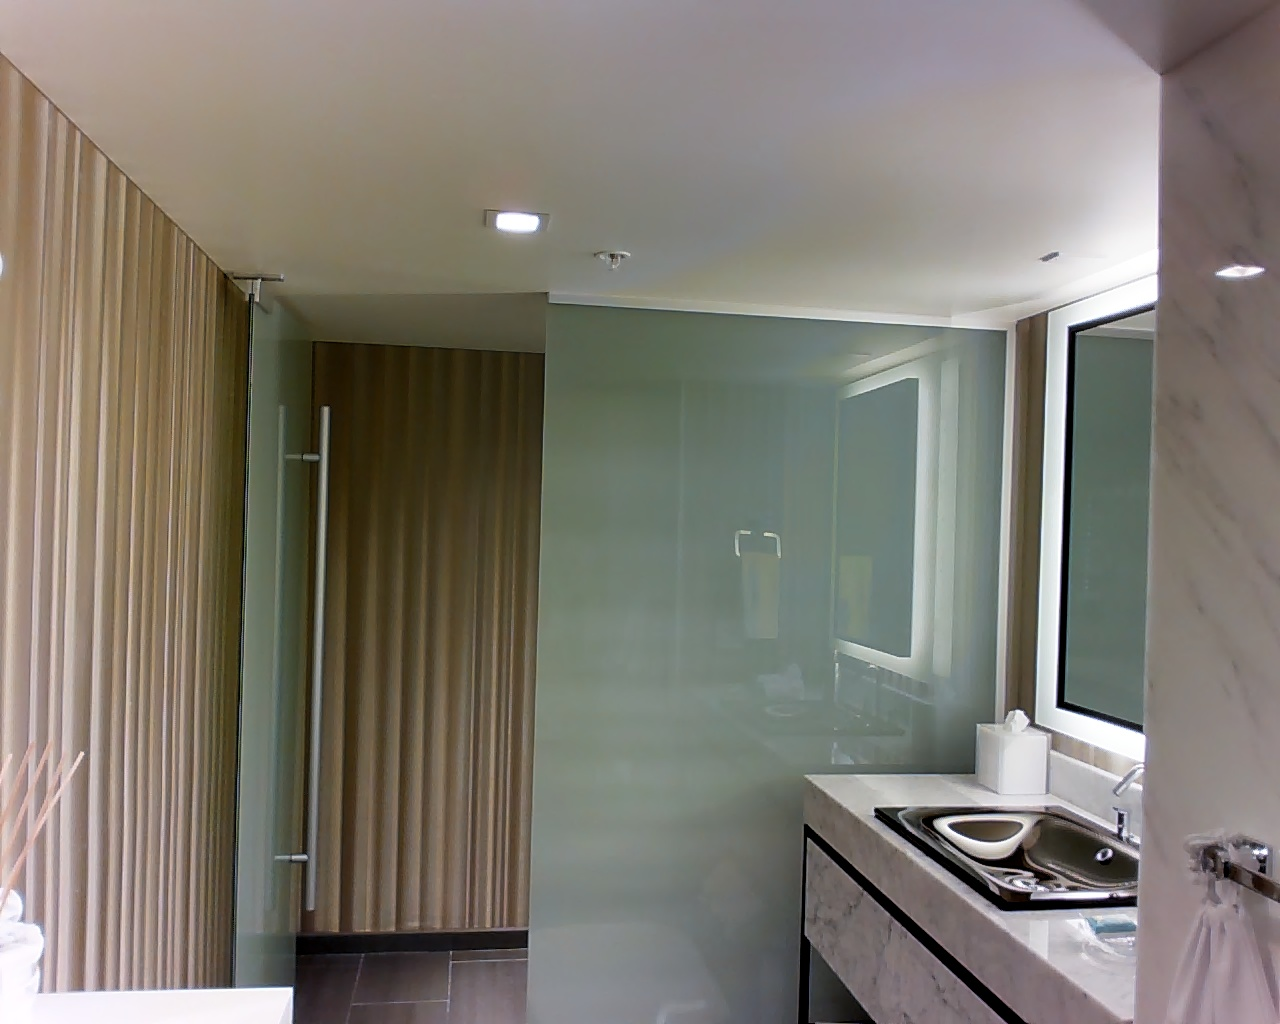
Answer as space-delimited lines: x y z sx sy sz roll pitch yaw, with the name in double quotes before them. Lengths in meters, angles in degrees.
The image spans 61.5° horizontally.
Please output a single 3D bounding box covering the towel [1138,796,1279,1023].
"towel" 0.640 0.550 1.150 0.100 0.440 0.200 2 0 -8
